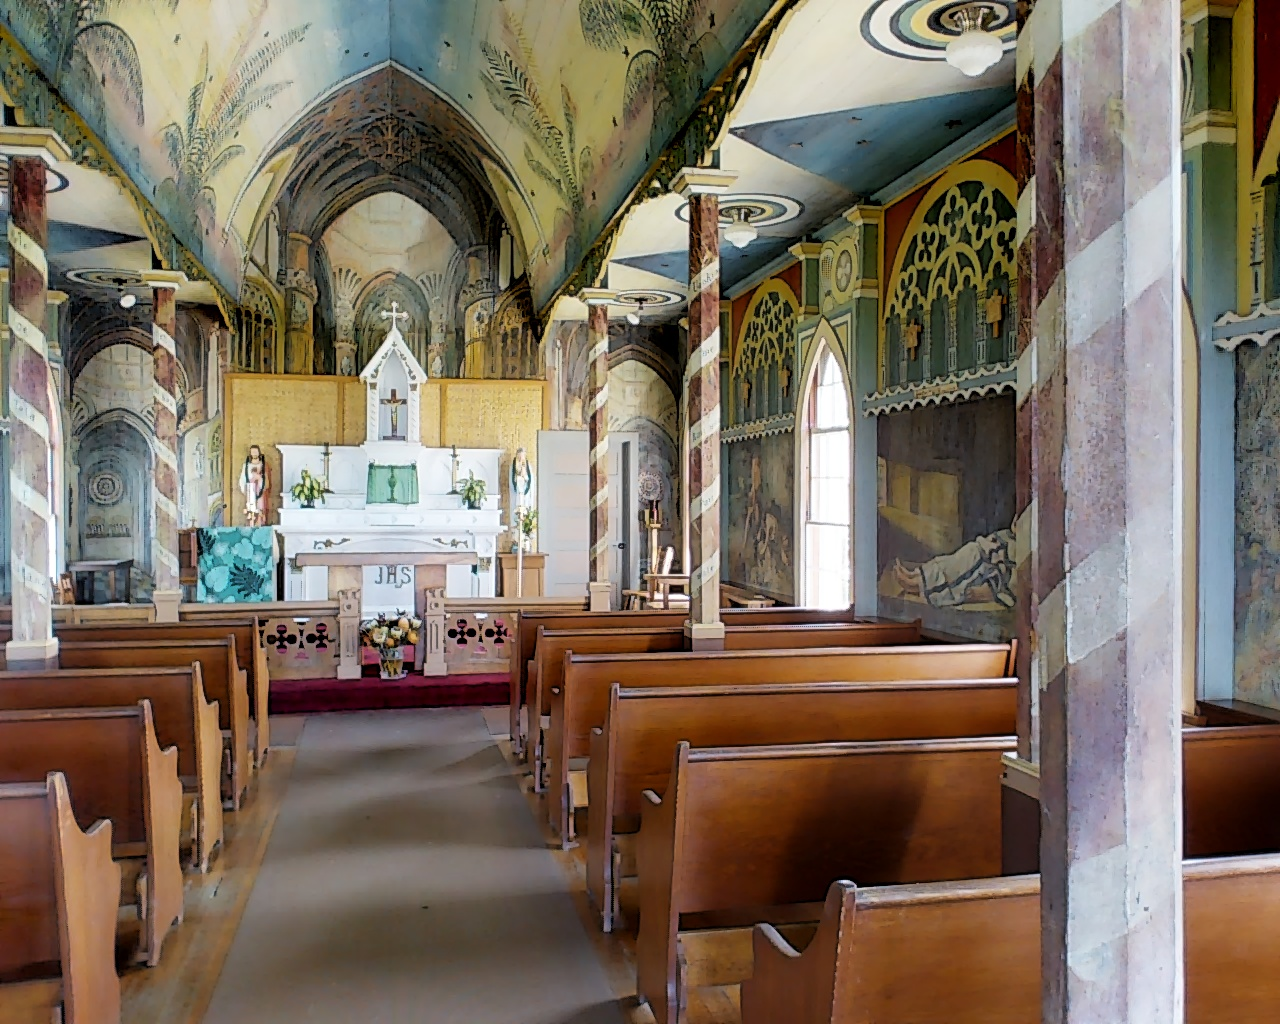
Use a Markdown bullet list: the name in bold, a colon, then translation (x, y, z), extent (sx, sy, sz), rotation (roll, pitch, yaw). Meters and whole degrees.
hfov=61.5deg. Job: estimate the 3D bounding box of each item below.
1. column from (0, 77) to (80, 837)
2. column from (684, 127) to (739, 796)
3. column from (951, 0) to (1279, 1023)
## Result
- **column**: translation (-2.829, -0.240, 5.020), extent (0.290, 3.421, 0.310), rotation (0, 1, -12)
- **column**: translation (0.370, -0.250, 5.660), extent (0.200, 3.411, 0.300), rotation (0, 1, -12)
- **column**: translation (0.540, 0.150, 1.230), extent (0.260, 2.791, 0.250), rotation (0, 1, -12)
